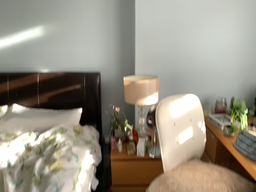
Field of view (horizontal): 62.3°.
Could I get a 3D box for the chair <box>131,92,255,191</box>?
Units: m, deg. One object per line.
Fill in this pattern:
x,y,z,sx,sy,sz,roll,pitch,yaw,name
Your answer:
0.450,0.570,1.330,0.590,1.010,0.650,-9,18,-32,chair
